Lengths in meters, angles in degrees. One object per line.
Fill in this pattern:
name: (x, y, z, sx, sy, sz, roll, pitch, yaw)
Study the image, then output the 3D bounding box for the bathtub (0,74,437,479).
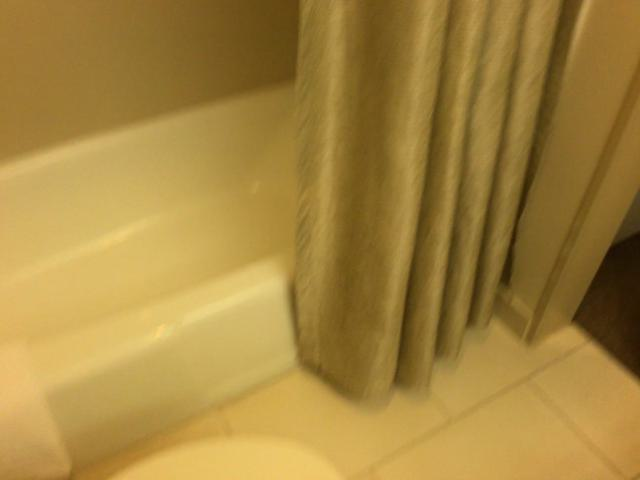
bathtub: (-0.470, 0.080, 1.420, 1.280, 0.370, 0.720, -23, 48, -20)
